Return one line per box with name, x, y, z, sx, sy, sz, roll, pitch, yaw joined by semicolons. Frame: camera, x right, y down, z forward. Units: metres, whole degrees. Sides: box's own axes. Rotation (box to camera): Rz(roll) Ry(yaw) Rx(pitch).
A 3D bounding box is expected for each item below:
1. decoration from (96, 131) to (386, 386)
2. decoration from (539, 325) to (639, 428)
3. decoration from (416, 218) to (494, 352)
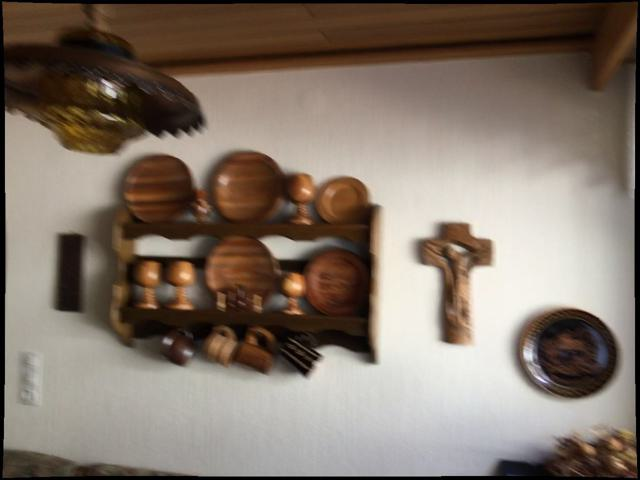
decoration;-0.310;0.050;2.160;1.069;0.861;0.140;1;-2;15
decoration;0.899;0.440;1.880;0.340;0.300;0.040;1;-2;15
decoration;0.470;0.150;2.010;0.250;0.450;0.050;1;-2;15
